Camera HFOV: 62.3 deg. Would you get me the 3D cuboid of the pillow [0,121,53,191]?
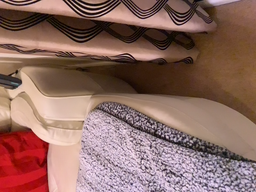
[{"bbox_3d":[-0.650,0.430,1.130,0.160,0.460,0.560,-127,40,-57],"label":"pillow"}]
